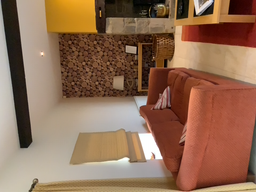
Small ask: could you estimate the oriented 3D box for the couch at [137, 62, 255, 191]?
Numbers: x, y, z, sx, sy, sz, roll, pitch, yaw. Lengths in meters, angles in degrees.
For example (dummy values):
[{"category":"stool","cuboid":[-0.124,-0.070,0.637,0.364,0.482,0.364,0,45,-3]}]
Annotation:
[{"category":"couch","cuboid":[0.710,0.180,2.900,2.210,0.880,1.070,-110,20,-75]}]
